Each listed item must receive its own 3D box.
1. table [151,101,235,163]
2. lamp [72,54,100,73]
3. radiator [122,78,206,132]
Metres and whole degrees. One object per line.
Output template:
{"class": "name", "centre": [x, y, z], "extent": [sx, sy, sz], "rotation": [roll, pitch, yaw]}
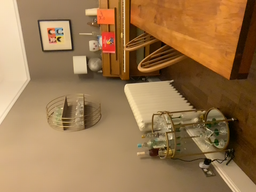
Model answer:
{"class": "table", "centre": [0.620, 0.340, 2.140], "extent": [0.390, 0.660, 0.400], "rotation": [-115, 23, -63]}
{"class": "lamp", "centre": [-0.760, -0.600, 3.890], "extent": [0.190, 0.480, 0.280], "rotation": [-117, 25, -65]}
{"class": "radiator", "centre": [0.400, 0.060, 2.870], "extent": [1.030, 0.800, 0.220], "rotation": [-114, 22, -62]}
